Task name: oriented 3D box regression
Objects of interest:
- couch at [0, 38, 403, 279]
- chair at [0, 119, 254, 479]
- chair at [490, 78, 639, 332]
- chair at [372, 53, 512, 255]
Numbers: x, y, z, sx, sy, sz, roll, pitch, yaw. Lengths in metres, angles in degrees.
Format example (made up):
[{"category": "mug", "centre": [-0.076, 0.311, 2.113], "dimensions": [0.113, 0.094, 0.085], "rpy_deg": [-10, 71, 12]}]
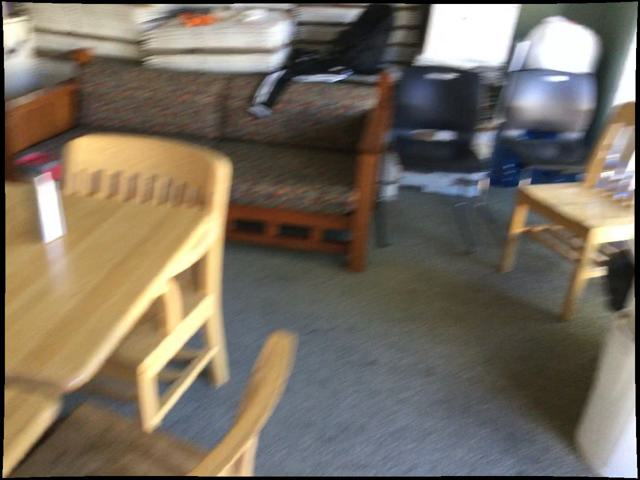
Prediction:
[{"category": "couch", "centre": [-0.629, -0.511, 3.090], "dimensions": [2.008, 0.801, 0.980], "rpy_deg": [6, 30, 8]}, {"category": "chair", "centre": [-0.689, 0.150, 1.830], "dimensions": [0.729, 0.801, 0.700], "rpy_deg": [9, 31, 12]}, {"category": "chair", "centre": [1.289, -0.190, 2.520], "dimensions": [0.689, 0.821, 0.620], "rpy_deg": [-11, 32, -22]}, {"category": "chair", "centre": [0.619, -0.470, 3.090], "dimensions": [0.569, 0.871, 0.580], "rpy_deg": [6, 30, 8]}]
